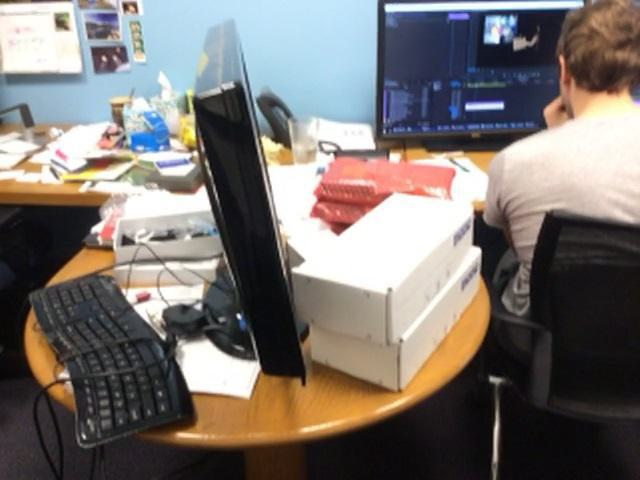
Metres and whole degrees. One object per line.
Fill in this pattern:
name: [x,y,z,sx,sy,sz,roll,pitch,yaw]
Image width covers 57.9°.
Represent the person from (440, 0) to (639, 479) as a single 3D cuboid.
person: [0.710,-0.040,1.450,0.660,1.170,0.830,1,27,6]
